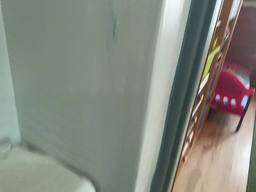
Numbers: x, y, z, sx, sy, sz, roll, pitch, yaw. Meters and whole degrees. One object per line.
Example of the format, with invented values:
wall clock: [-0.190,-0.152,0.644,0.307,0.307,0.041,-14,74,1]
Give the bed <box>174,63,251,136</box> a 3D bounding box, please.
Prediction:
bed: [1.320,-0.070,3.130,0.780,0.300,1.550,18,29,23]
